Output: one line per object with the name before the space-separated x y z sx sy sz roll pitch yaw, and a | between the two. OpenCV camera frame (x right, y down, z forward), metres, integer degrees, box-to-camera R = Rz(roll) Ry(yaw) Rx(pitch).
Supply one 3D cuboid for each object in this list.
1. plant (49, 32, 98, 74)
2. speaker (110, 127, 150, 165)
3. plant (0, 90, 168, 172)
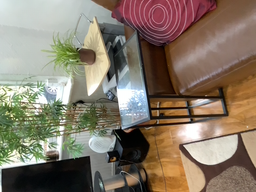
plant | -0.420 -0.310 1.610 0.230 0.300 0.200 -36 60 56
speaker | 0.010 0.540 2.340 0.340 0.290 0.210 47 131 51
plant | -0.540 0.310 1.910 0.680 1.630 0.510 -37 59 56
